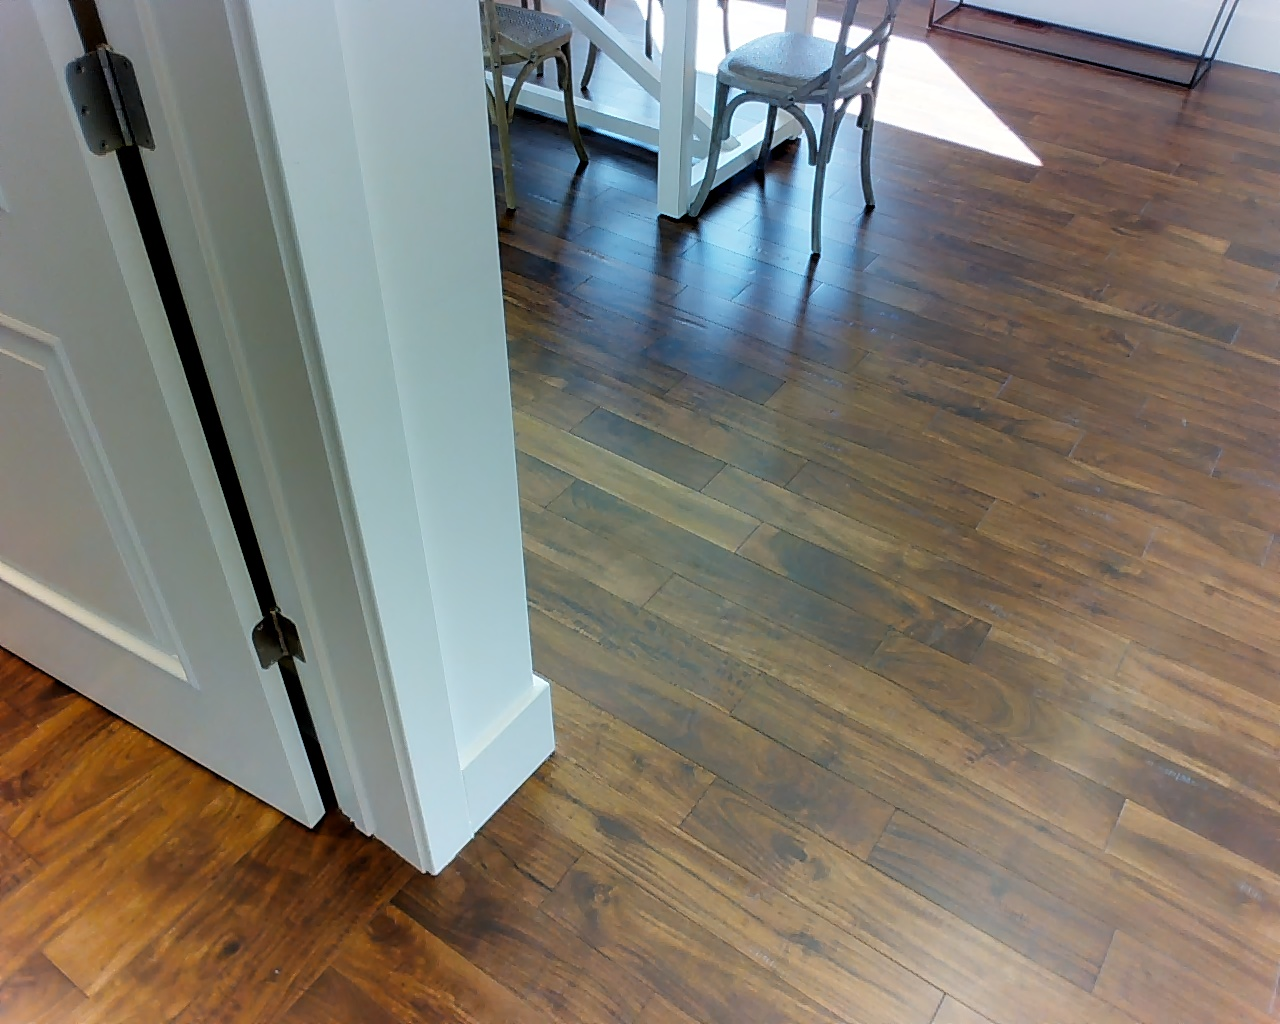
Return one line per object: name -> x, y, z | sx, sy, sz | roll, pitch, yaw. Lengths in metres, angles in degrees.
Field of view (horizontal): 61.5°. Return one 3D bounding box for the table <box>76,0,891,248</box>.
table -> -0.740, -1.940, 3.880 | 3.100, 0.780, 0.980 | 25, 47, 24
